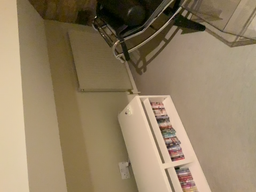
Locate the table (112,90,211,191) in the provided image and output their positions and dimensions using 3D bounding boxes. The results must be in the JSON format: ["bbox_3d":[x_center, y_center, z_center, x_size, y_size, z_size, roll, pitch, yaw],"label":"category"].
[{"bbox_3d":[0.280,0.600,1.800,0.470,0.390,1.250,-49,50,47],"label":"table"}]
